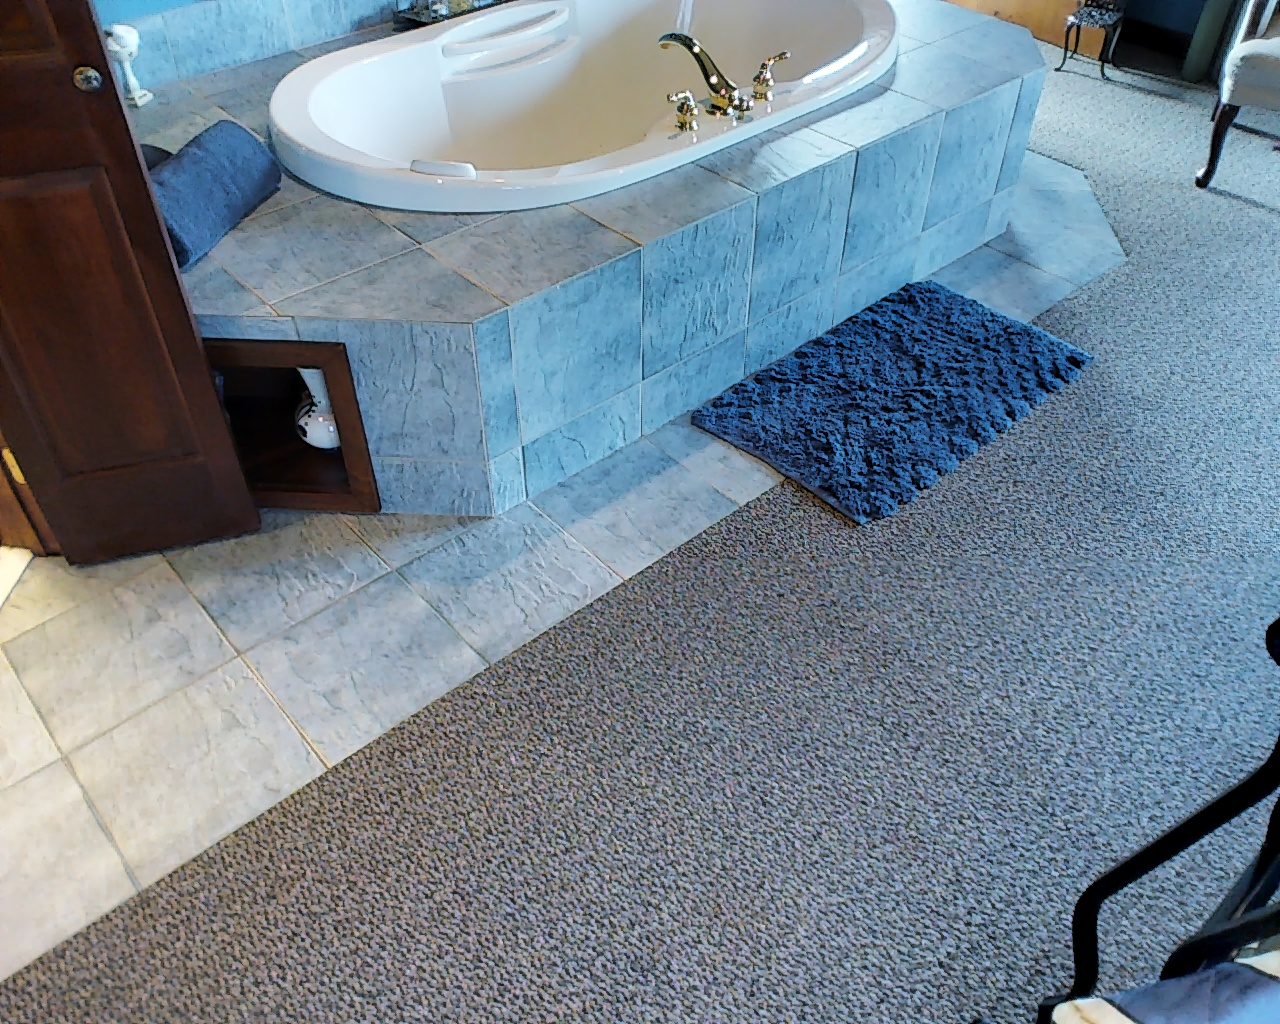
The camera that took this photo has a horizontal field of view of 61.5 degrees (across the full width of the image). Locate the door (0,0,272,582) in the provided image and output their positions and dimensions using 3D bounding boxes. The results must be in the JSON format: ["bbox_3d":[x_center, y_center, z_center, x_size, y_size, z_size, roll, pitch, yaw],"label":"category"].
[{"bbox_3d":[-1.000,-0.710,1.560,0.450,2.040,0.150,-13,44,-15],"label":"door"}]

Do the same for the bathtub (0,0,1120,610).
[{"bbox_3d":[-0.090,-0.950,2.860,2.470,0.660,1.370,-31,51,-30],"label":"bathtub"}]

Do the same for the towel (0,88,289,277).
[{"bbox_3d":[-1.020,-0.690,2.210,0.390,0.150,0.480,7,43,7],"label":"towel"}]
